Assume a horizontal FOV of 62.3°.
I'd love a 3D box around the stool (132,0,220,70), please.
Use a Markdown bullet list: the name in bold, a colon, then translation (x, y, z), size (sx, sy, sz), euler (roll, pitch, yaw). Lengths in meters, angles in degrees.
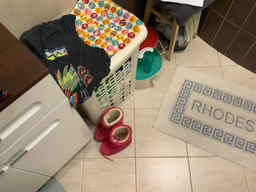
- **stool**: translation (0.290, -0.520, 1.350), size (0.370, 0.500, 0.370), euler (40, 73, 18)
